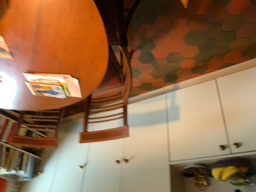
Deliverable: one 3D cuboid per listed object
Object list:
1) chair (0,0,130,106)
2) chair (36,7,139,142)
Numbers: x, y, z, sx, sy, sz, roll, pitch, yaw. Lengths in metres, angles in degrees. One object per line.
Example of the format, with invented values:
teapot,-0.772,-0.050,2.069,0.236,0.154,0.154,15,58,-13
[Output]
chair,-0.280,-0.440,1.200,0.540,0.870,0.430,3,146,1
chair,-0.240,-0.160,1.630,0.490,0.850,0.440,-13,143,24
